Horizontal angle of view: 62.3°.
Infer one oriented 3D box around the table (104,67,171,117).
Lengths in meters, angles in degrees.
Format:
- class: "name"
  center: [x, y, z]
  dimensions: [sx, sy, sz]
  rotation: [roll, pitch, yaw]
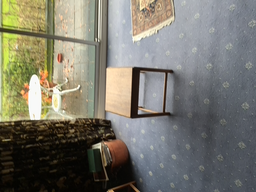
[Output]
- class: "table"
  center: [0.090, -0.060, 2.080]
  dimensions: [0.420, 0.480, 0.420]
  rotation: [9, 99, 52]
